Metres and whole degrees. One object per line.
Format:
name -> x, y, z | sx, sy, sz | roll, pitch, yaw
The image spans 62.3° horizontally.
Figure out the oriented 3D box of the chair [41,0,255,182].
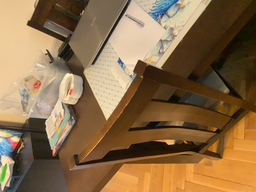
chair -> 0.210, 0.040, 0.980 | 0.450, 0.990, 0.420 | -52, 46, 24
